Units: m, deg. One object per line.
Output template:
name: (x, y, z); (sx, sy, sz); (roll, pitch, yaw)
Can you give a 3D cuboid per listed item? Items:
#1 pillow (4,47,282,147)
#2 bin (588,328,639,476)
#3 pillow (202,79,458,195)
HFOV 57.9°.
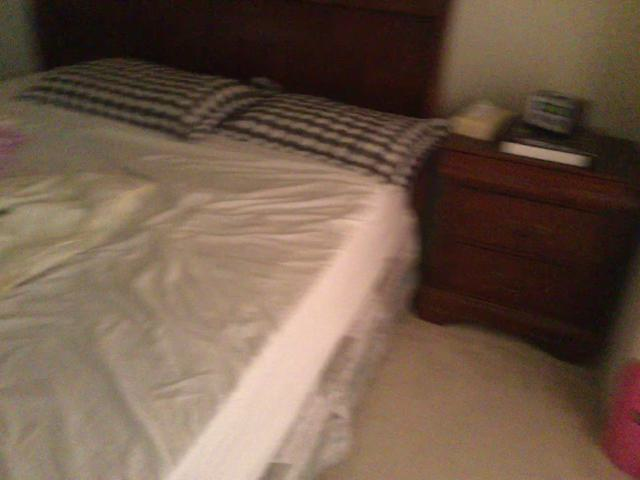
pillow: (-0.550, -0.490, 1.890); (0.710, 0.120, 0.480); (14, 28, 16)
bin: (0.880, 0.440, 1.530); (0.230, 0.280, 0.230); (14, 28, 16)
pillow: (0.050, -0.340, 1.760); (0.650, 0.120, 0.480); (14, 28, 16)
